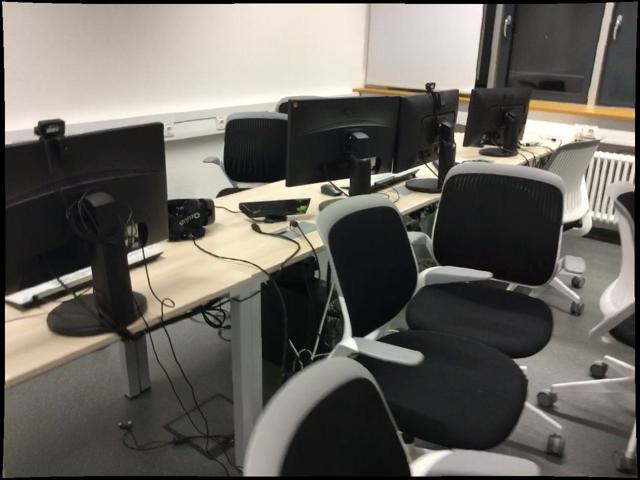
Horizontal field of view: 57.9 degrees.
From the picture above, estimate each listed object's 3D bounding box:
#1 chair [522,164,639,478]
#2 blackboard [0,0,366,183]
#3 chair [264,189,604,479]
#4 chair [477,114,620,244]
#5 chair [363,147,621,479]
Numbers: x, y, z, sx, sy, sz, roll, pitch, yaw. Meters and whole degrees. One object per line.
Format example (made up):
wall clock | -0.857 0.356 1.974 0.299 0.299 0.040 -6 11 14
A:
chair | 1.289 0.280 1.980 0.889 0.881 0.680 12 23 34
blackboard | -0.909 -1.151 3.640 0.370 1.051 3.989 12 23 34
chair | 0.260 0.390 1.600 0.669 0.931 0.620 1 19 6
chair | 1.219 -0.360 3.080 0.510 0.520 0.630 12 23 34
chair | 0.599 0.220 2.030 0.580 0.931 0.750 12 23 34
